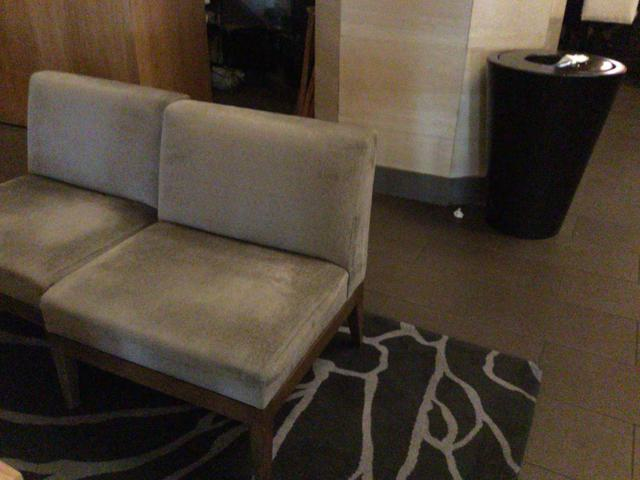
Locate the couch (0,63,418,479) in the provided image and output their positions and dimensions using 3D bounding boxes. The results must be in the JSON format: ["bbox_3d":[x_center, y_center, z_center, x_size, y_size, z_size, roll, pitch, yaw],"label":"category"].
[{"bbox_3d":[-0.620,0.000,1.860,1.580,0.830,0.780,16,28,24],"label":"couch"}]
